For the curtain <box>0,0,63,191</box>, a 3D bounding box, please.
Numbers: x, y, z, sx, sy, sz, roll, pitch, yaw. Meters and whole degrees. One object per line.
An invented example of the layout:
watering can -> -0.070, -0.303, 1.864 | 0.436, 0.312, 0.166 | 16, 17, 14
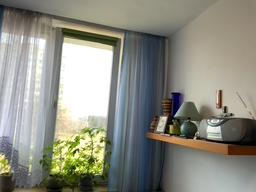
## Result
curtain -> -1.150, -0.010, 1.880 | 0.920, 1.720, 0.230 | 7, -8, -21

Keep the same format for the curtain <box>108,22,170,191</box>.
curtain -> 0.130, 0.220, 2.300 | 0.550, 1.940, 0.190 | 6, -8, -19

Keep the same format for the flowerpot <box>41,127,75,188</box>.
flowerpot -> -0.700, 0.600, 2.130 | 0.260, 0.560, 0.150 | 7, -8, -24

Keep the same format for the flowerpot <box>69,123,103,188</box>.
flowerpot -> -0.440, 0.610, 2.220 | 0.270, 0.620, 0.170 | 7, -8, -22
